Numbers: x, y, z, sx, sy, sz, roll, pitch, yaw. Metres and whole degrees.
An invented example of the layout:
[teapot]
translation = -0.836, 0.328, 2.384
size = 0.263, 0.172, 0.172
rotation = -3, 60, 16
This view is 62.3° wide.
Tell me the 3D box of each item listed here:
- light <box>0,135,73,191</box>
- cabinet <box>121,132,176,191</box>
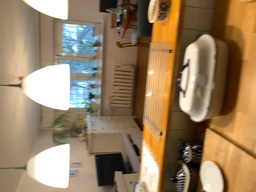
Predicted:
[light]
translation = -0.630, 0.390, 1.100
size = 0.260, 0.660, 0.270
rotation = -134, 46, -71
[cabinet]
translation = 0.310, 1.260, 4.130
size = 1.450, 0.600, 0.530
rotation = -132, 45, -71
